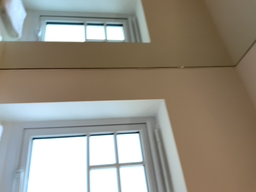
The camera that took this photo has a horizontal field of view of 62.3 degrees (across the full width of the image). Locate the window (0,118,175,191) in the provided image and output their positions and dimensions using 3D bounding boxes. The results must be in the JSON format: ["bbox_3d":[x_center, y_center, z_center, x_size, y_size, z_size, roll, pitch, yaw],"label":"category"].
[{"bbox_3d":[-0.230,0.400,1.150,0.040,0.920,0.550,102,-17,-55],"label":"window"}]
